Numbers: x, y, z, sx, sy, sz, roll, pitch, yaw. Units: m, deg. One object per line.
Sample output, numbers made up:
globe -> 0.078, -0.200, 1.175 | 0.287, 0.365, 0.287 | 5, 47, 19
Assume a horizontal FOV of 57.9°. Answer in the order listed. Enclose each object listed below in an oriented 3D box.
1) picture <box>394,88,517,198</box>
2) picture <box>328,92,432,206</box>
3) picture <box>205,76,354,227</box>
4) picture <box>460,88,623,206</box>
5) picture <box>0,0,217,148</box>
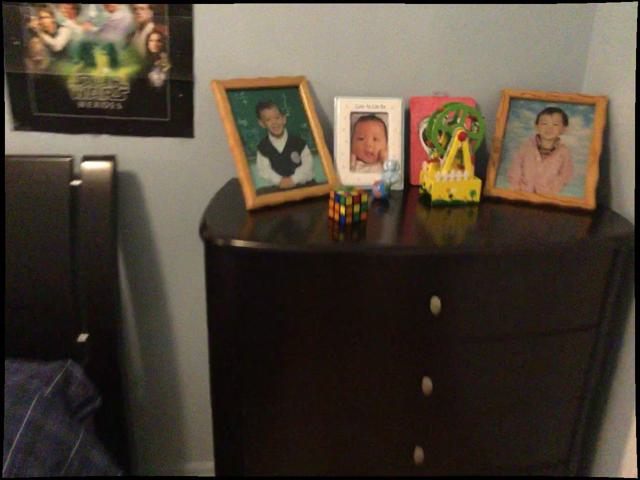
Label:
picture -> 0.320, -0.240, 1.410 | 0.240, 0.230, 0.150 | -2, 23, -5
picture -> 0.130, -0.220, 1.360 | 0.200, 0.220, 0.200 | -2, 23, -5
picture -> -0.090, -0.210, 1.300 | 0.290, 0.270, 0.270 | -2, 23, -5
picture -> 0.509, -0.230, 1.380 | 0.260, 0.220, 0.240 | -2, 23, -5
picture -> -0.480, -0.490, 1.300 | 0.450, 0.550, 0.060 | -2, 23, -5
